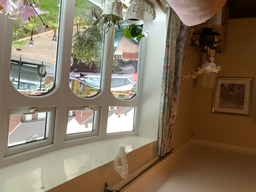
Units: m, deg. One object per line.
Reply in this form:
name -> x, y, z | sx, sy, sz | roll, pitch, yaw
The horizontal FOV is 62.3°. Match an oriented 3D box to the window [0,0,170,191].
window -> -0.340, -0.160, 1.480 | 0.480, 1.450, 1.990 | 6, -179, 30
